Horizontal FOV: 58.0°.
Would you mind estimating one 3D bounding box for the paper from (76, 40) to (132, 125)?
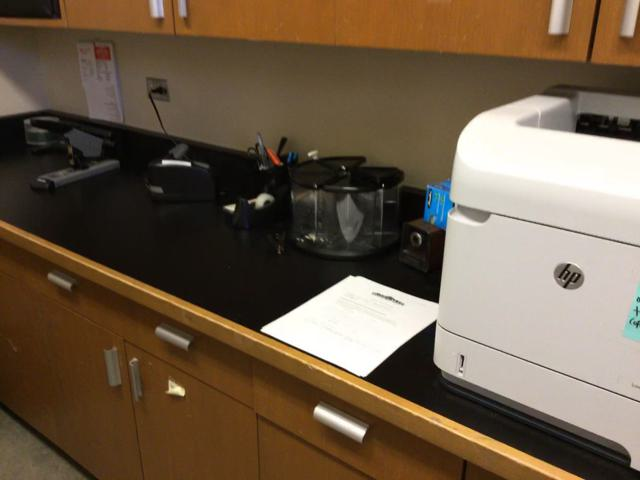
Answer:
[{"bbox_3d":[-0.780,-0.570,2.090,0.230,0.280,0.030,16,28,35],"label":"paper"}]

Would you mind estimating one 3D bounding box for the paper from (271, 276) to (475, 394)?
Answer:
[{"bbox_3d":[0.100,0.150,1.020,0.230,0.020,0.300,17,26,35],"label":"paper"}]
